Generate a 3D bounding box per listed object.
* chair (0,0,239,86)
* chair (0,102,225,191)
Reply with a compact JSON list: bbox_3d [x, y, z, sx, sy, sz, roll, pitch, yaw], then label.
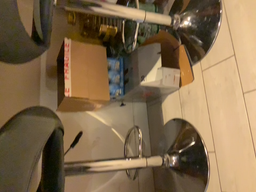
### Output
[{"bbox_3d":[-0.110,-0.350,0.870,0.560,0.880,0.520,172,99,-66],"label":"chair"},{"bbox_3d":[-0.120,0.290,0.890,0.530,0.840,0.500,172,99,-66],"label":"chair"}]
